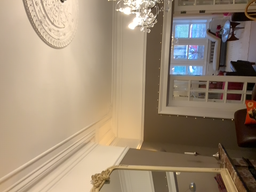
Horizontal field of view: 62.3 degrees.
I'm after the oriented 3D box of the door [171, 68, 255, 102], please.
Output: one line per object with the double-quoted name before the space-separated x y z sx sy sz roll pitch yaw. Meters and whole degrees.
"door" 1.810 -0.220 4.160 0.150 1.850 0.580 -28 -59 -75
